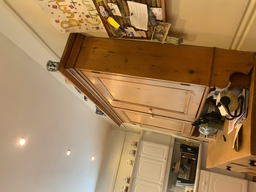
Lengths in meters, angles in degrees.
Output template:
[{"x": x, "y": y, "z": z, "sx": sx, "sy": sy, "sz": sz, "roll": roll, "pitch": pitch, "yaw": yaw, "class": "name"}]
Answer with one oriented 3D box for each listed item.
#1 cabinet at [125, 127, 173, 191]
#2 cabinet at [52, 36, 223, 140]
[{"x": 0.420, "y": 1.370, "z": 4.100, "sx": 0.350, "sy": 0.660, "sz": 1.400, "roll": 61, "pitch": -139, "yaw": -67, "class": "cabinet"}, {"x": 0.180, "y": 0.070, "z": 2.080, "sx": 1.680, "sy": 1.030, "sz": 0.260, "roll": 61, "pitch": -139, "yaw": -67, "class": "cabinet"}]
